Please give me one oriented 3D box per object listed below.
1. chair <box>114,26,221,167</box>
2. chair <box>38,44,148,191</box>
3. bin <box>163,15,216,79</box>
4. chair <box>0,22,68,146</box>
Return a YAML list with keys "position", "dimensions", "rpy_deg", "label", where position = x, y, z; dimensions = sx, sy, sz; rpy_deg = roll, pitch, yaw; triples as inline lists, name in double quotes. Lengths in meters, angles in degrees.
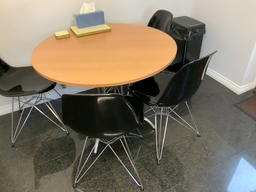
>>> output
- position: [0.240, 0.000, 1.560]
  dimensions: [0.460, 0.810, 0.470]
  rpy_deg: [-21, 41, -23]
  label: "chair"
- position: [-0.190, 0.190, 1.320]
  dimensions: [0.460, 0.810, 0.500]
  rpy_deg: [-11, 38, -12]
  label: "chair"
- position: [0.680, -0.570, 2.450]
  dimensions: [0.310, 0.570, 0.400]
  rpy_deg: [-21, 41, -24]
  label: "bin"
- position: [-0.880, -0.100, 1.760]
  dimensions: [0.530, 0.810, 0.460]
  rpy_deg: [-15, 40, -18]
  label: "chair"
